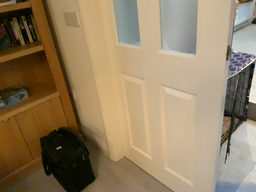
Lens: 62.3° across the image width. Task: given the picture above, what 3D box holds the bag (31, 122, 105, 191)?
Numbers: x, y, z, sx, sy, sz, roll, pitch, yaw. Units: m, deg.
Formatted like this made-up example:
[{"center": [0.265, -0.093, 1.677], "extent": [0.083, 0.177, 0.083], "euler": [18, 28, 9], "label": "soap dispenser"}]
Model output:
[{"center": [-0.450, 0.470, 1.590], "extent": [0.310, 0.310, 0.430], "euler": [-28, 35, -33], "label": "bag"}]
